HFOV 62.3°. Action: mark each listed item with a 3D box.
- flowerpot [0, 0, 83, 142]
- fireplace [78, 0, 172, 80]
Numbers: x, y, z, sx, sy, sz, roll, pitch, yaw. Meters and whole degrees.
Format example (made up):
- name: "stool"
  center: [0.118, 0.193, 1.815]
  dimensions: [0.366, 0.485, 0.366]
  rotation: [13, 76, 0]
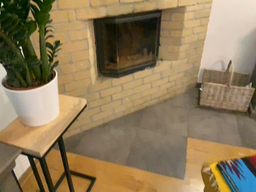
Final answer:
- name: "flowerpot"
  center: [-0.450, -0.140, 0.900]
  dimensions: [0.360, 0.540, 0.290]
  rotation: [10, 34, 14]
- name: "fireplace"
  center: [-0.030, -0.550, 1.970]
  dimensions: [0.690, 0.520, 0.420]
  rotation: [-18, 37, -26]
